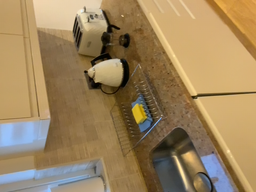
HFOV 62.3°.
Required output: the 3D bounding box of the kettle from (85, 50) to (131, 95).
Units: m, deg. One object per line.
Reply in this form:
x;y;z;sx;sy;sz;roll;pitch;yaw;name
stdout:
-0.140;-0.150;1.380;0.240;0.200;0.160;-59;43;45;kettle
